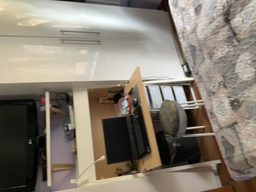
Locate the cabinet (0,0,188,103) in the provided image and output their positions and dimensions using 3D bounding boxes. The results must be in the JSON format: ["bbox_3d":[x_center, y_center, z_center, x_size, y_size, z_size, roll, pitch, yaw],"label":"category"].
[{"bbox_3d":[-0.600,-0.530,2.320,0.410,2.350,1.080,126,139,-60],"label":"cabinet"}]

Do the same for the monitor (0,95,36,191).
[{"bbox_3d":[-1.090,0.380,1.800,0.040,0.560,0.810,126,138,-60],"label":"monitor"}]

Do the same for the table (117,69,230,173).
[{"bbox_3d":[0.370,0.260,2.120,0.680,0.700,0.810,126,139,-60],"label":"table"}]
